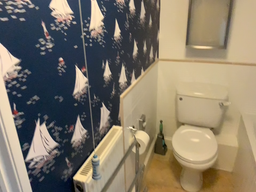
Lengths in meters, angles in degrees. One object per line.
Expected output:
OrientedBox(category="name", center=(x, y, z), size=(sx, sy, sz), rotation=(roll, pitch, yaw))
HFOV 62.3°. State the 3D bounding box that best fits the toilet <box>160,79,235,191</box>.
OrientedBox(category="toilet", center=(0.600, 0.350, 1.880), size=(0.460, 0.800, 0.670), rotation=(7, 24, 19))
